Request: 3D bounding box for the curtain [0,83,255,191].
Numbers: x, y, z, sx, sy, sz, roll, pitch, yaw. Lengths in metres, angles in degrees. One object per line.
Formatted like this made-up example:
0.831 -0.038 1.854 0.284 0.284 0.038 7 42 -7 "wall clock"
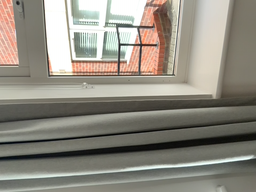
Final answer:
0.160 0.140 0.730 0.150 2.370 0.350 -162 71 -77 "curtain"
